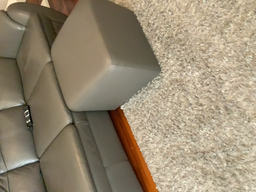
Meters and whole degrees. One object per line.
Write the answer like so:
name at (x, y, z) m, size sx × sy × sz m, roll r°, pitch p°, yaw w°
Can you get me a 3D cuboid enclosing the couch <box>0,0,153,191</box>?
couch at (-0.780, 0.190, 1.570) m, size 0.980 × 0.990 × 2.030 m, roll -42°, pitch 61°, yaw 36°
